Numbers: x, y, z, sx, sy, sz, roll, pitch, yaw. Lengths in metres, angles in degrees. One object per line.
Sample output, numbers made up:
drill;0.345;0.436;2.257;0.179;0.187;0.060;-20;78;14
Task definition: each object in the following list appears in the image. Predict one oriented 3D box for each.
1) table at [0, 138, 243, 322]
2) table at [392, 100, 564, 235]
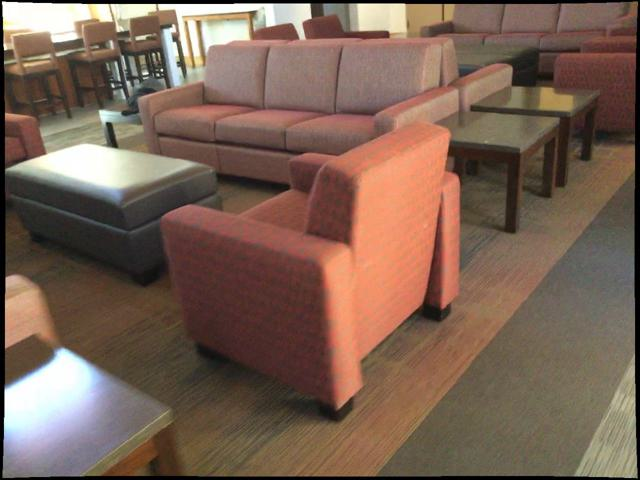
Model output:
table;-1.169;-0.130;3.250;1.299;0.671;0.620;11;32;39
table;0.879;-0.430;3.150;0.650;0.480;0.680;11;32;39
